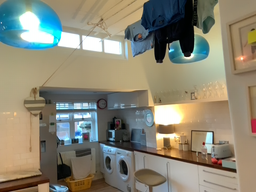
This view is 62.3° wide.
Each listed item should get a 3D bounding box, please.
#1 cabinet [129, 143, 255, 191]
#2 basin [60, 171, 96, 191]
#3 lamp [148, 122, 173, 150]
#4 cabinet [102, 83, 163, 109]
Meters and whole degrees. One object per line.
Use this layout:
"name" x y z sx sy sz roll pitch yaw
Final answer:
"cabinet" 1.050 1.290 3.040 0.650 0.900 2.700 0 -5 -33
"basin" -1.090 1.890 4.640 0.680 0.270 0.380 -1 -5 -30
"lamp" 0.600 0.720 3.900 0.300 0.470 0.300 0 -5 -36
"cabinet" 0.010 0.040 4.840 0.420 0.400 1.850 0 -5 -33
